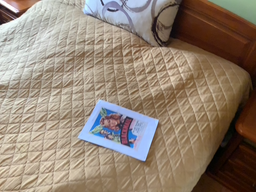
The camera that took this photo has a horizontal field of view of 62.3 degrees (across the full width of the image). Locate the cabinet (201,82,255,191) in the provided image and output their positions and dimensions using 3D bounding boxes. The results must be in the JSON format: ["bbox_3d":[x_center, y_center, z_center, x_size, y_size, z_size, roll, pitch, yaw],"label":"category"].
[{"bbox_3d":[0.820,0.320,1.190,0.530,0.500,0.440,31,52,23],"label":"cabinet"}]
